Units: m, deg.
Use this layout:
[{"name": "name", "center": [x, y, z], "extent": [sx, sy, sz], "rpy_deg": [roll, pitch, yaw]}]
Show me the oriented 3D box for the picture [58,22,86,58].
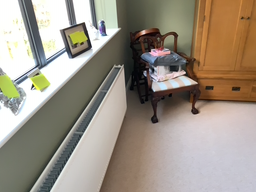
[{"name": "picture", "center": [-0.450, -0.470, 1.750], "extent": [0.070, 0.220, 0.280], "rpy_deg": [5, 30, 14]}]
